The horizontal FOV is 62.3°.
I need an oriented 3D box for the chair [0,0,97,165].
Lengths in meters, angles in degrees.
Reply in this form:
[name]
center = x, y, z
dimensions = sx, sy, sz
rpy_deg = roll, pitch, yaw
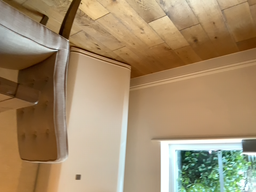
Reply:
[chair]
center = -0.580, -0.190, 1.040
dimensions = 0.430, 0.960, 0.650
rpy_deg = -10, 157, 33
